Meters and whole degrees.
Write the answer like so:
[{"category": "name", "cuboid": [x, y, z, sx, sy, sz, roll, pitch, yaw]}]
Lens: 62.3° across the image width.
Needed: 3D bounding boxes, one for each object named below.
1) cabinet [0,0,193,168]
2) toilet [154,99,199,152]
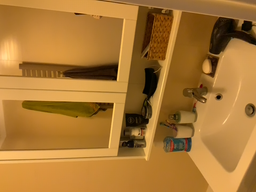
[{"category": "cabinet", "cuboid": [-0.310, -0.060, 0.980, 0.170, 1.030, 0.830, -116, 31, -62]}, {"category": "toilet", "cuboid": [0.280, 0.180, 1.270, 0.110, 0.160, 0.300, -112, 28, -59]}]
